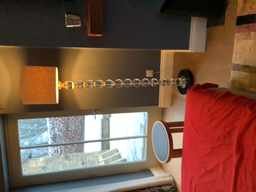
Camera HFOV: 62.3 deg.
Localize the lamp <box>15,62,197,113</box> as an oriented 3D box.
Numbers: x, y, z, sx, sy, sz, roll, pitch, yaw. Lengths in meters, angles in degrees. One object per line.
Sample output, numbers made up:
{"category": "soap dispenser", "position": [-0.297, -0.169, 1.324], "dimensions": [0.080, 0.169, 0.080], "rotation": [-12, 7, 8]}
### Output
{"category": "lamp", "position": [-0.180, -0.130, 2.290], "dimensions": [0.520, 1.740, 0.420], "rotation": [-148, 58, -70]}
